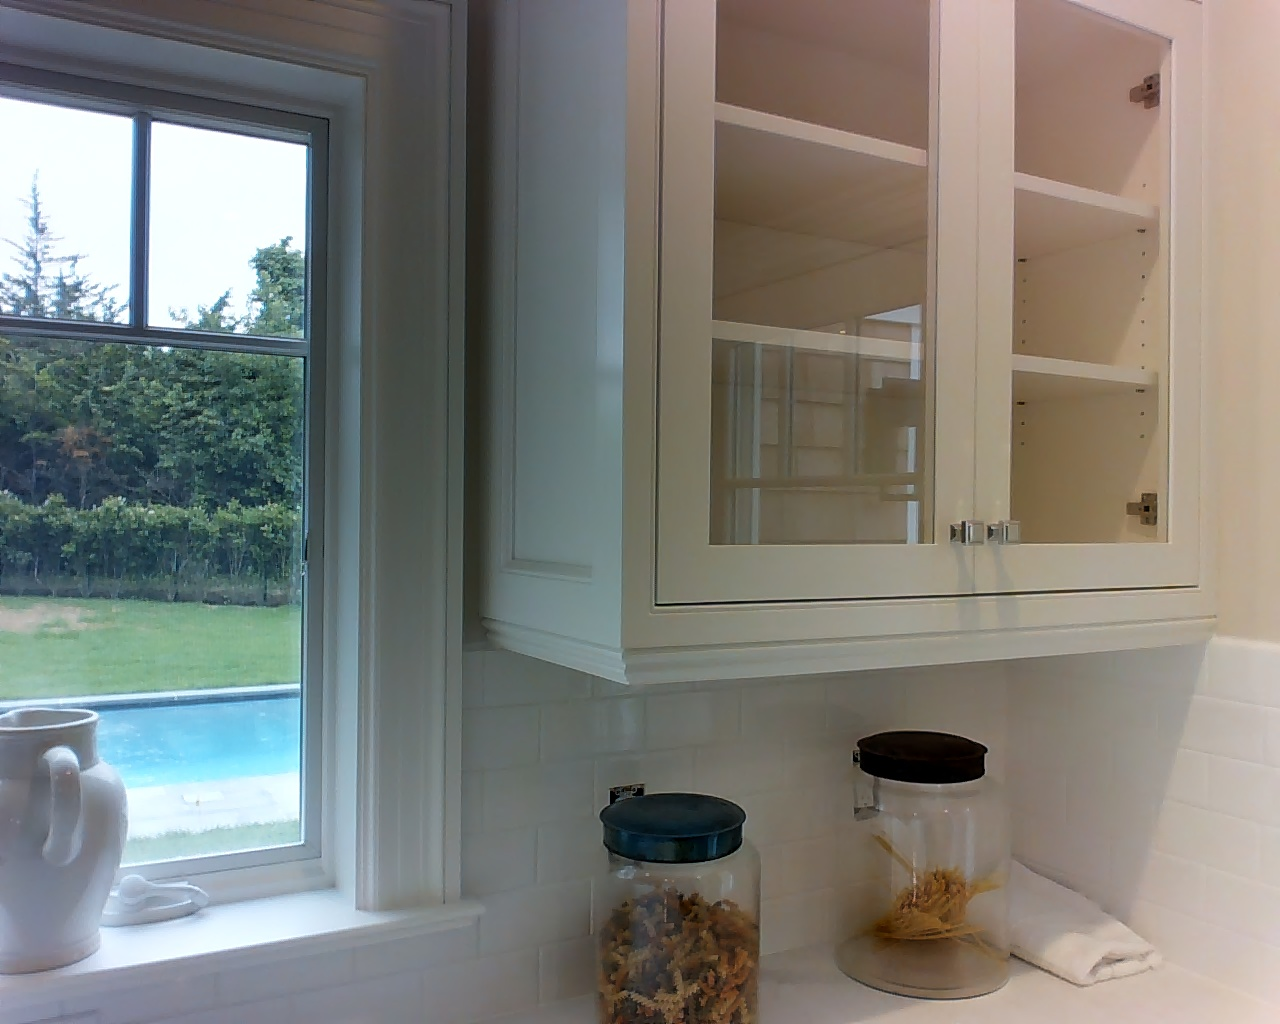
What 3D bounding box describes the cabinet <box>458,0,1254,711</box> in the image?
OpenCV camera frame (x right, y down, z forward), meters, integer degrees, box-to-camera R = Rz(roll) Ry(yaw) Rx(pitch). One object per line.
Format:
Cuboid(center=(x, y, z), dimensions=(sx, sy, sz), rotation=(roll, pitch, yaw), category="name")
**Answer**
Cuboid(center=(0.300, -0.450, 1.380), dimensions=(0.960, 1.270, 0.400), rotation=(1, 0, -29), category="cabinet")
